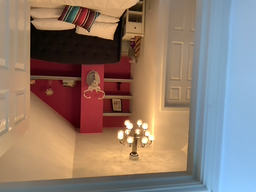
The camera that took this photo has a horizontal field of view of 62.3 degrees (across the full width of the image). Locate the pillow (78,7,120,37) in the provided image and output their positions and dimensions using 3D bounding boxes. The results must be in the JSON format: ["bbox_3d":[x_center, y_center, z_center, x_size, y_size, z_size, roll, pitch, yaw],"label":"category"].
[{"bbox_3d":[-0.530,-1.300,3.760,0.690,0.430,0.240,-3,-131,-13],"label":"pillow"}]

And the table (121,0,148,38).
[{"bbox_3d":[0.110,-1.540,3.960,0.370,0.790,0.560,1,-175,-12],"label":"table"}]

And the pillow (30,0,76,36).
[{"bbox_3d":[-1.220,-1.310,3.550,0.640,0.480,0.290,1,-129,-9],"label":"pillow"}]

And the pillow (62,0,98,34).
[{"bbox_3d":[-0.760,-1.290,3.410,0.240,0.380,0.490,40,-127,24],"label":"pillow"}]
